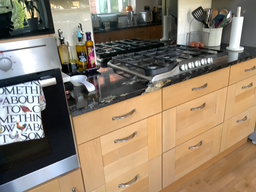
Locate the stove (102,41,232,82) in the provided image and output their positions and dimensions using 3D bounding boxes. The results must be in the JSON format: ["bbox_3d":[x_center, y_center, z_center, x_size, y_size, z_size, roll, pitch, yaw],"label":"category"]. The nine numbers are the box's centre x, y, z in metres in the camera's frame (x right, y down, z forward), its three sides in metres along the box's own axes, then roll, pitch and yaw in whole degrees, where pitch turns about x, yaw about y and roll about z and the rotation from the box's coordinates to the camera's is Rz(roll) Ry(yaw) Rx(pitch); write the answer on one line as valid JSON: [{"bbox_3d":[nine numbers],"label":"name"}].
[{"bbox_3d":[0.250,-0.280,1.480,0.670,0.060,0.580,-17,28,-29],"label":"stove"}]
